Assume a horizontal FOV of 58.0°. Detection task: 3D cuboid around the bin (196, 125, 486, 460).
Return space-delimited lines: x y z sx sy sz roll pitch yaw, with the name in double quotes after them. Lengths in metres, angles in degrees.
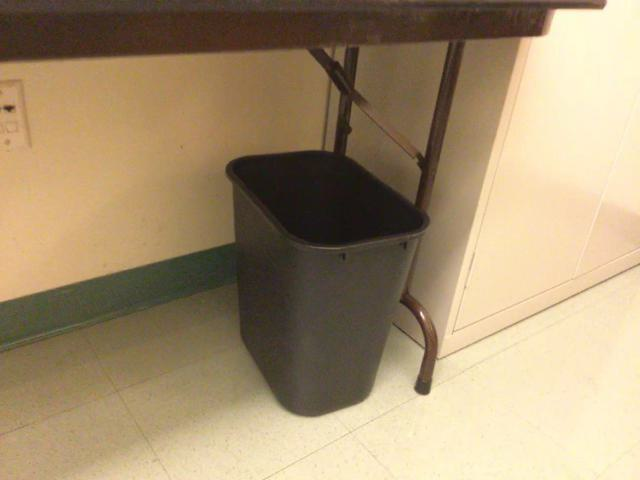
0.010 0.060 1.080 0.330 0.420 0.390 -14 32 -31 "bin"
